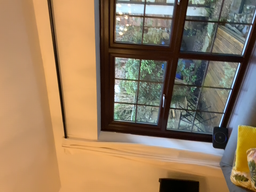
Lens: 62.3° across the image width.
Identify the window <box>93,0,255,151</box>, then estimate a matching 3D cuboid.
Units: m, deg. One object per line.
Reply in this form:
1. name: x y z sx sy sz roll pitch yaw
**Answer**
1. window: 0.410 -0.300 2.220 0.250 1.490 1.920 -80 -6 -60
